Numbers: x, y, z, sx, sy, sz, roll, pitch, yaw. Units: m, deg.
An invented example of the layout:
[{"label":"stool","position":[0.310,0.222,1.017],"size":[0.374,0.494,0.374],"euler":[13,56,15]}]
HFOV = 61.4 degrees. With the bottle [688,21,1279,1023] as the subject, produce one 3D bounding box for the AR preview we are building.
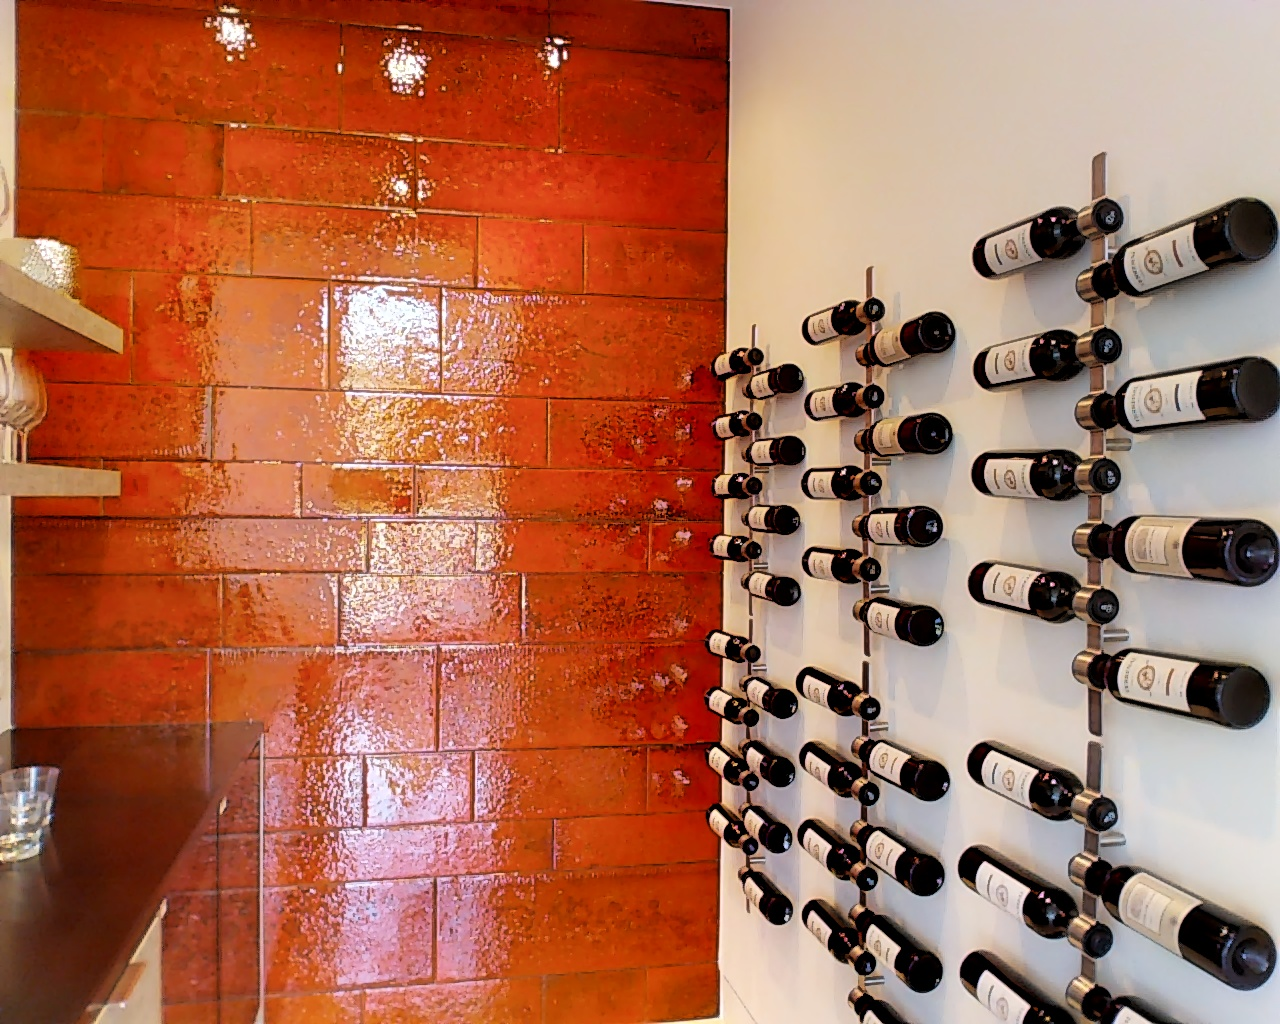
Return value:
[{"label":"bottle","position":[0.510,0.260,1.740],"size":[0.210,1.420,2.660],"euler":[0,1,-12]}]
